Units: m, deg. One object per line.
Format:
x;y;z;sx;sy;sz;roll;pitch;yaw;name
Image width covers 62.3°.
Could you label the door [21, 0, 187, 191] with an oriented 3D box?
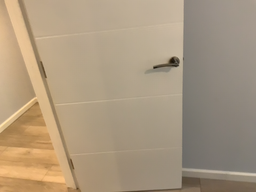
-0.080;-0.160;1.150;0.770;2.040;0.030;-5;27;3;door
